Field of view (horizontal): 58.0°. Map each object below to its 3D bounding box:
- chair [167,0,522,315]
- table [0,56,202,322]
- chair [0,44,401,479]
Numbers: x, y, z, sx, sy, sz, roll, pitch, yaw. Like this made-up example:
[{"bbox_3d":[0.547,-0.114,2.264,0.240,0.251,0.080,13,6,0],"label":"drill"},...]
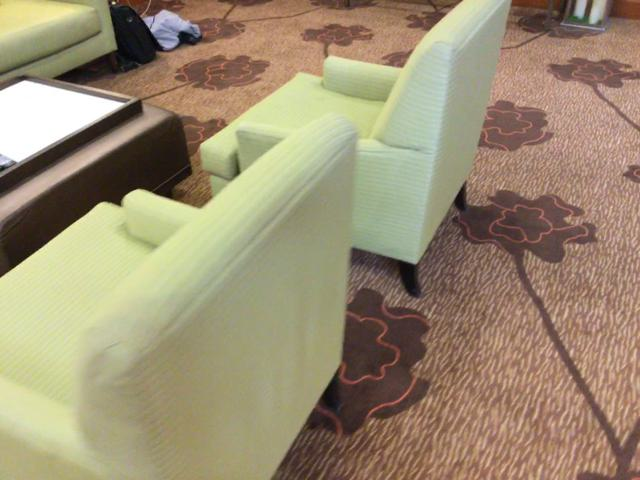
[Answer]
[{"bbox_3d":[0.110,-0.420,2.010,0.840,0.840,0.760,18,39,23],"label":"chair"},{"bbox_3d":[-1.130,-0.280,2.260,0.910,0.480,0.890,18,39,23],"label":"table"},{"bbox_3d":[-0.430,0.200,1.260,0.920,0.910,0.720,18,39,23],"label":"chair"}]
